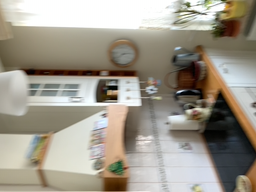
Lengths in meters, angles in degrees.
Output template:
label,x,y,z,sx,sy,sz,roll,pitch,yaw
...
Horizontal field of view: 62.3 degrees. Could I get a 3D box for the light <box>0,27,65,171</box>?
label,x,y,z,sx,sy,sz,roll,pitch,yaw
light,-0.690,0.010,1.300,0.370,0.640,0.600,2,41,-2
